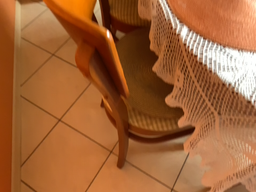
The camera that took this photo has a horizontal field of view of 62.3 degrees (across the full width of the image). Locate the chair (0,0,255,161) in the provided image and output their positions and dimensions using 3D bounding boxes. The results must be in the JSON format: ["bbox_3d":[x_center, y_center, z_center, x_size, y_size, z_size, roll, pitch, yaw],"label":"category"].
[{"bbox_3d":[0.080,-0.080,0.780,0.520,0.910,0.410,-1,60,-1],"label":"chair"}]
